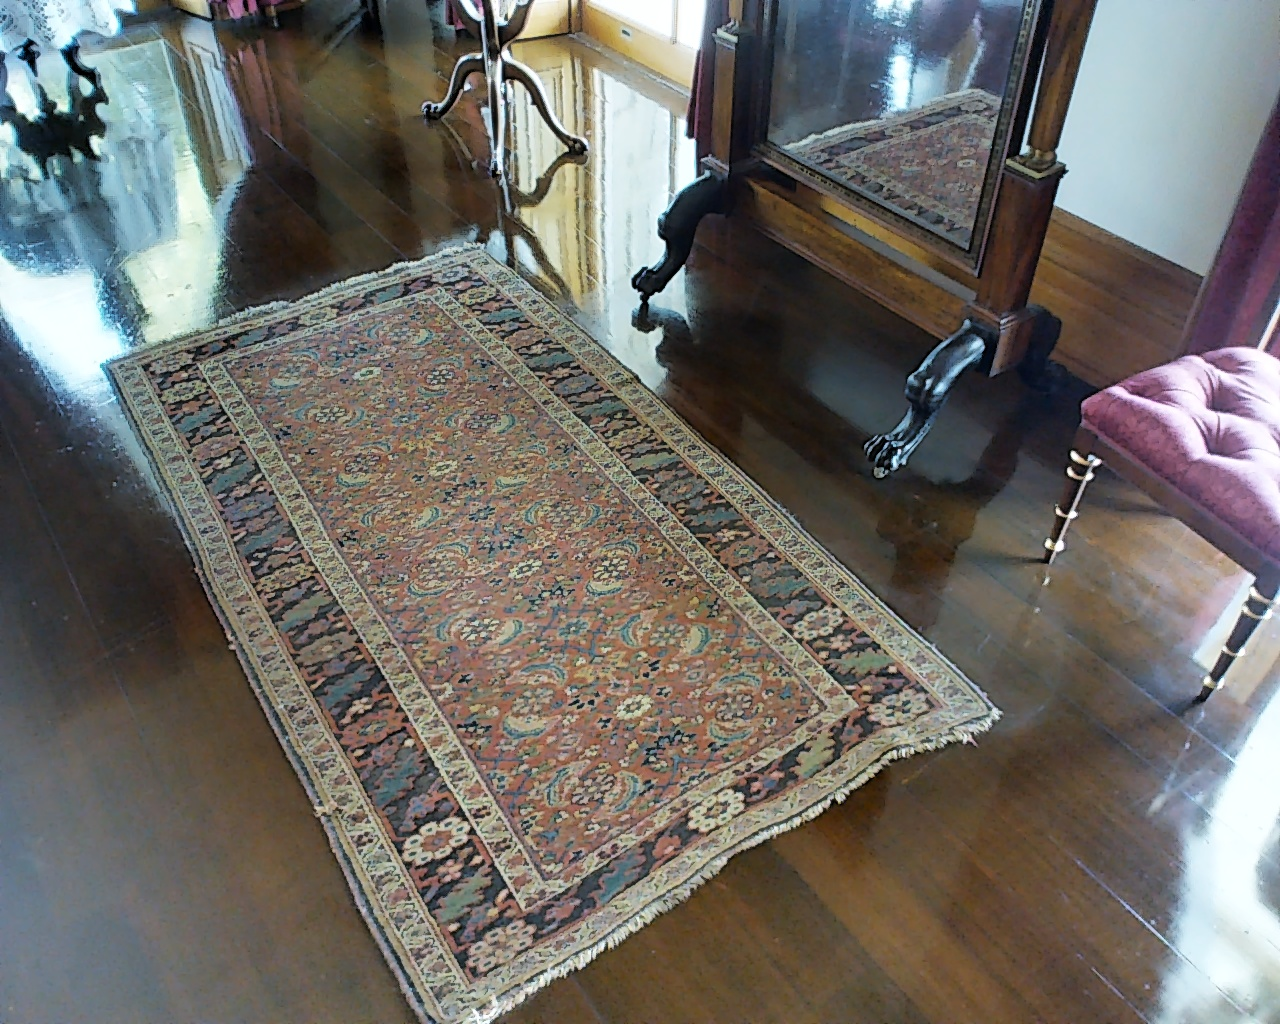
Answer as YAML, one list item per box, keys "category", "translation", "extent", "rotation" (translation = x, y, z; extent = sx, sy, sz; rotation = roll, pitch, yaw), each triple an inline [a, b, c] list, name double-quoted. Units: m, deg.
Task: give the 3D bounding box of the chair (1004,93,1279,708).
- category: "chair"
  translation: [1.140, -0.210, 1.920]
  extent: [0.540, 0.840, 0.540]
  rotation: [-25, 48, -24]
